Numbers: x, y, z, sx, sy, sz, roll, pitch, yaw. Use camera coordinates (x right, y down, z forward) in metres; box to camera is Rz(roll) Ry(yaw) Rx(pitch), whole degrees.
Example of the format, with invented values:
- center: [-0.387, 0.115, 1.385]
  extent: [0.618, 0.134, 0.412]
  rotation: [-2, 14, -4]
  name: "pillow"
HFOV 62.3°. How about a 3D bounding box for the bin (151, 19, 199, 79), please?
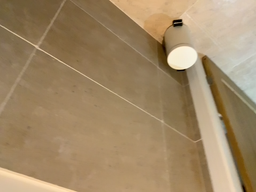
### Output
- center: [0.290, -0.300, 1.360]
  extent: [0.230, 0.270, 0.160]
  rotation: [32, 129, -28]
  name: "bin"
